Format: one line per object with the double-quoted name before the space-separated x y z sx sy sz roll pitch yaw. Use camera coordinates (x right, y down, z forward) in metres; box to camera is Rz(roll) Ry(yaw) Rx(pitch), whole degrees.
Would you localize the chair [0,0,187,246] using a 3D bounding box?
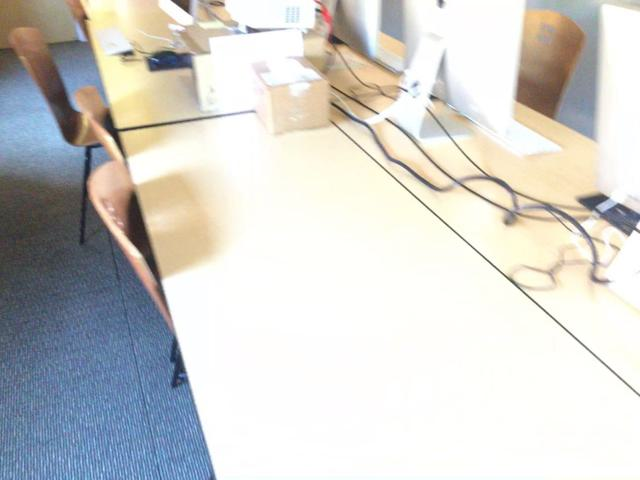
"chair" -0.930 -0.520 2.430 0.500 0.810 0.580 -15 37 -17
